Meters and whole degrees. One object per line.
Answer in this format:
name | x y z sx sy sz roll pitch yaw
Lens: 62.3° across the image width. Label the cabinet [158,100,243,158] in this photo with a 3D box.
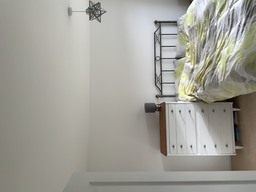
cabinet | 1.060 0.490 3.260 0.460 1.120 0.820 100 170 -84
